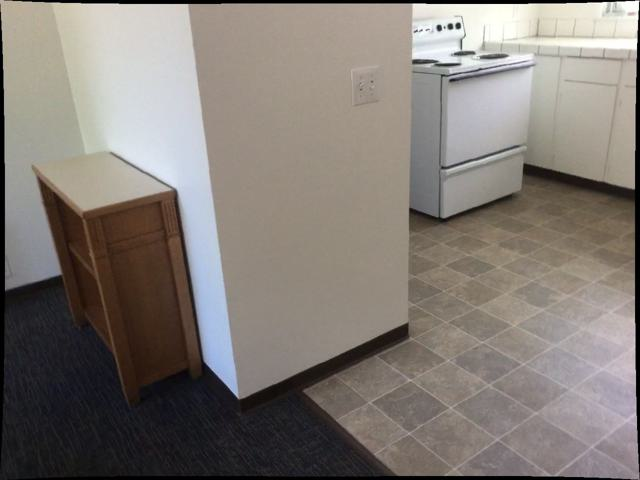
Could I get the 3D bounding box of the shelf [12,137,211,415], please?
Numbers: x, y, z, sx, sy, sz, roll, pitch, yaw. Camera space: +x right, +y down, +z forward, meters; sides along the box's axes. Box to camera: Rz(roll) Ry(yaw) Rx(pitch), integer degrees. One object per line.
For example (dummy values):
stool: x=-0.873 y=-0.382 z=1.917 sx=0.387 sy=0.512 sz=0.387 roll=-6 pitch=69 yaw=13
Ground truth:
shelf: x=-0.869 y=0.080 z=2.350 sx=0.360 sy=0.771 sz=0.940 roll=-20 pitch=29 yaw=-29
